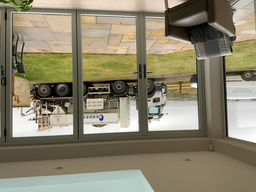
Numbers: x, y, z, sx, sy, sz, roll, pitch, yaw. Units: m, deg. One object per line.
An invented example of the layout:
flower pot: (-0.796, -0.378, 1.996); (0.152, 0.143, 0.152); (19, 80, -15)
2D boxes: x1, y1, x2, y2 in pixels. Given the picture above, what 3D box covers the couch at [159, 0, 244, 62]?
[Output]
couch: (1.060, -1.010, 3.050); (0.930, 0.810, 0.760); (1, 177, -40)
